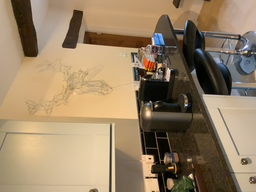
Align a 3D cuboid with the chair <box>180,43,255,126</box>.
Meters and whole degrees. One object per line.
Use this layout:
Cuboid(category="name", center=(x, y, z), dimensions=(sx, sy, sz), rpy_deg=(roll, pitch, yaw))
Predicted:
Cuboid(category="chair", center=(0.930, -0.080, 1.690), dimensions=(0.410, 0.830, 0.470), rpy_deg=(102, 168, -48))
